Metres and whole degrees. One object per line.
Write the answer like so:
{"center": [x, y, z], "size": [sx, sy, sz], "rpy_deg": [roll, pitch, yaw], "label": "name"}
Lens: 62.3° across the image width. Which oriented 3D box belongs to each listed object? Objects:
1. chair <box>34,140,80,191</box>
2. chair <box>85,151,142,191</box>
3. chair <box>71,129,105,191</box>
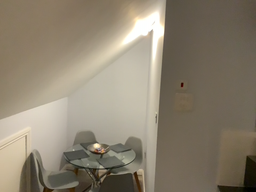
{"center": [-0.880, 1.010, 2.570], "size": [0.480, 0.800, 0.450], "rpy_deg": [0, 7, -24], "label": "chair"}
{"center": [-0.190, 1.090, 2.300], "size": [0.450, 0.780, 0.520], "rpy_deg": [1, 7, -21], "label": "chair"}
{"center": [-0.630, 0.960, 3.290], "size": [0.380, 0.770, 0.480], "rpy_deg": [0, 7, -25], "label": "chair"}
